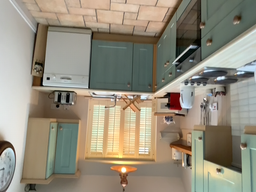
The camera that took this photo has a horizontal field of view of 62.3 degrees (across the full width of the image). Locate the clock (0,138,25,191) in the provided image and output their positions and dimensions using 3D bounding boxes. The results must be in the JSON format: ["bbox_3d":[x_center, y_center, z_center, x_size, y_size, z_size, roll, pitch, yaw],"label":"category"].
[{"bbox_3d":[-1.210,0.710,2.060,0.110,0.540,0.670,4,173,-6],"label":"clock"}]
